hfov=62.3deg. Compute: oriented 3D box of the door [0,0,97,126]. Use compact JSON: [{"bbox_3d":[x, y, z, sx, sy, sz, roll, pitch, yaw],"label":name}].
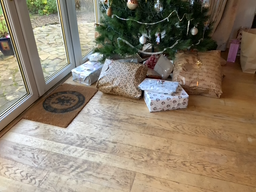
[{"bbox_3d":[-0.920,-0.890,1.570,0.120,1.980,3.010,7,33,12],"label":"door"}]
